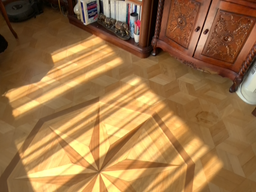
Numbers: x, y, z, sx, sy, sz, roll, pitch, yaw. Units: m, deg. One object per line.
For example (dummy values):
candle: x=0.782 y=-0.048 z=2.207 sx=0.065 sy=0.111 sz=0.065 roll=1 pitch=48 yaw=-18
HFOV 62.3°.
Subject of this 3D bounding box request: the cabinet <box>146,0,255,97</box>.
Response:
cabinet: x=0.600 y=-0.540 z=1.570 sx=0.800 sy=0.810 sz=0.340 roll=31 pitch=56 yaw=21
